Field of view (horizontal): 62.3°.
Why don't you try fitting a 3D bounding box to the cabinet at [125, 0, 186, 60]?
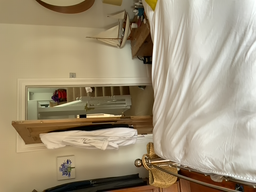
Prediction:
[{"bbox_3d":[0.340,-1.020,3.190,1.080,0.470,0.560,140,126,-70],"label":"cabinet"}]
